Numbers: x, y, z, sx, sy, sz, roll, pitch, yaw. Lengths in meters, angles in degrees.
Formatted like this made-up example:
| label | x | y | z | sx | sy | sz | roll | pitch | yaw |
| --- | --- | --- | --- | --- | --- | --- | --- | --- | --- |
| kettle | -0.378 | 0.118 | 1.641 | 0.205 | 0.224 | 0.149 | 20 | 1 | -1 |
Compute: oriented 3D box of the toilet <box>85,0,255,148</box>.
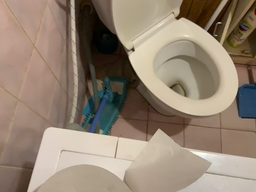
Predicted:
| label | x | y | z | sx | sy | sz | roll | pitch | yaw |
| --- | --- | --- | --- | --- | --- | --- | --- | --- | --- |
| toilet | 0.170 | -0.220 | 0.890 | 0.380 | 0.810 | 0.670 | -34 | 74 | -13 |
